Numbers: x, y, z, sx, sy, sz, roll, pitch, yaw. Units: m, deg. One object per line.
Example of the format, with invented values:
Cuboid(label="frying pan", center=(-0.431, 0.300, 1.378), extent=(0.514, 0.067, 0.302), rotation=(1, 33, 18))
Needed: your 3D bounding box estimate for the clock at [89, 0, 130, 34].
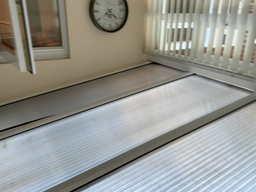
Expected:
Cuboid(label="clock", center=(-0.170, -0.830, 2.070), extent=(0.420, 0.410, 0.050), rotation=(-12, -155, -30))

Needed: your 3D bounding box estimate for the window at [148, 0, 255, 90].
Cuboid(label="window", center=(0.570, -0.940, 1.610), extent=(0.040, 1.530, 1.170), rotation=(-13, -155, -31))
